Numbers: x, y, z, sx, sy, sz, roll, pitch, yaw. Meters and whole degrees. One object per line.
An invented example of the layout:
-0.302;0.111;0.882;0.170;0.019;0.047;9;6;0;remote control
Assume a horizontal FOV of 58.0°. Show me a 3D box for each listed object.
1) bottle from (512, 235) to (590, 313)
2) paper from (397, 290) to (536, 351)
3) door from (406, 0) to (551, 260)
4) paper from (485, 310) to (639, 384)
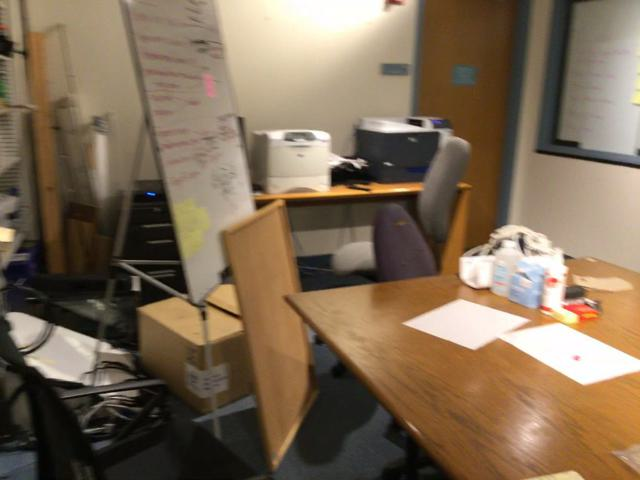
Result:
0.640;0.090;1.620;0.070;0.160;0.200;-5;17;-21;bottle
0.400;0.210;1.580;0.290;0.020;0.240;-12;20;-38;paper
1.210;-0.850;4.470;1.030;1.940;0.170;-5;17;-21;door
0.590;0.250;1.410;0.220;0.020;0.310;-5;17;-21;paper
